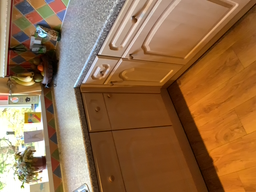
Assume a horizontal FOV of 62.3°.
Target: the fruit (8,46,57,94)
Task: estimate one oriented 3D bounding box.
[{"bbox_3d":[-0.830,-0.210,1.820,0.260,0.330,0.280,-51,49,44],"label":"fruit"}]
